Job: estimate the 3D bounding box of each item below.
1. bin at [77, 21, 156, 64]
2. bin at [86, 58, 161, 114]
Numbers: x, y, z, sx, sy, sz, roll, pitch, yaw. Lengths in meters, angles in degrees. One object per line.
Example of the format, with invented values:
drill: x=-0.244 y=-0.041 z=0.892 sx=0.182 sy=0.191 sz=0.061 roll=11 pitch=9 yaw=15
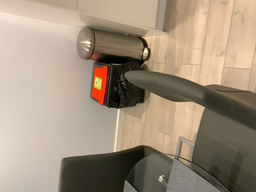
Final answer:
bin: x=-0.110 y=-0.500 z=2.110 sx=0.380 sy=0.670 sz=0.290 roll=15 pitch=101 yaw=54
bin: x=-0.050 y=-0.110 z=2.170 sx=0.420 sy=0.600 sz=0.480 roll=16 pitch=102 yaw=54
